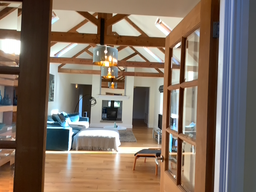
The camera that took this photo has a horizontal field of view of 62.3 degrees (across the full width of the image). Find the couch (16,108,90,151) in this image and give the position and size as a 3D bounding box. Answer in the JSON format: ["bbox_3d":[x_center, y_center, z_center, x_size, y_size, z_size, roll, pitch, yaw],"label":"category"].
[{"bbox_3d":[-2.290,1.000,7.400,1.400,0.860,3.640,2,0,-2],"label":"couch"}]
